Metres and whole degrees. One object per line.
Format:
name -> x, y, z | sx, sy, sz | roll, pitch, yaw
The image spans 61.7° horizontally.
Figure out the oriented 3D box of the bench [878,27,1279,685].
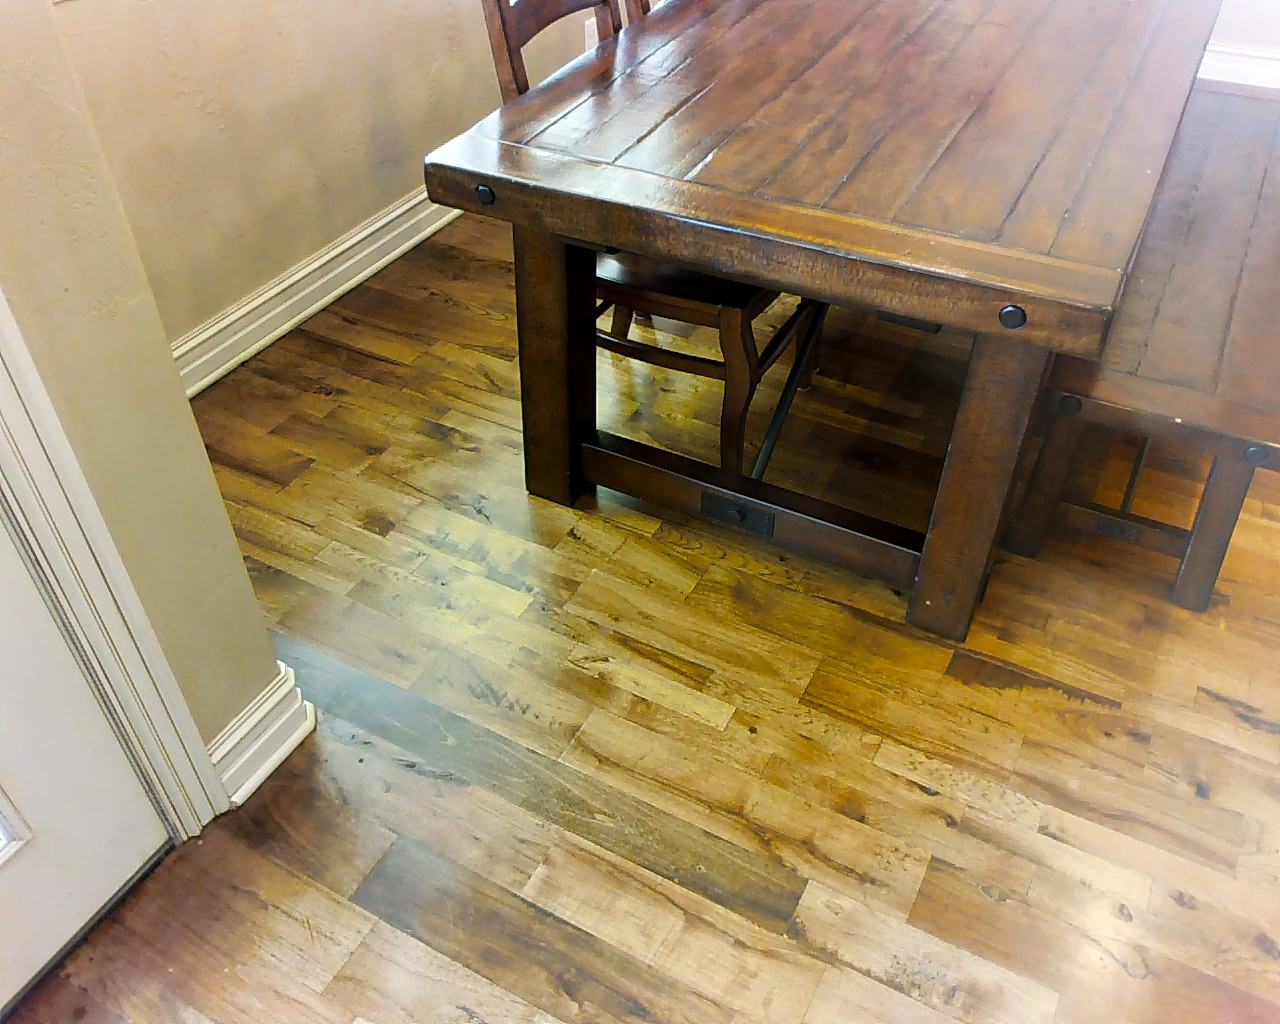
bench -> 1.190, -0.510, 2.380 | 0.700, 0.490, 1.750 | 20, 46, 21
